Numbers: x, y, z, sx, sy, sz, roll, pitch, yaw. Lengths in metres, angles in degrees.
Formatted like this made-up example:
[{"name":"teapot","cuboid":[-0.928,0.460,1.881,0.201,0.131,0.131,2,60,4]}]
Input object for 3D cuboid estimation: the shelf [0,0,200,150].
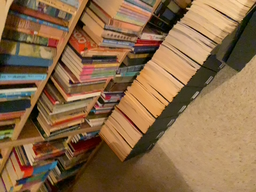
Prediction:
[{"name":"shelf","cuboid":[-0.220,-0.220,0.930,0.340,1.020,0.810,46,114,24]}]
